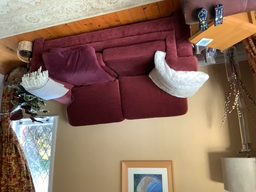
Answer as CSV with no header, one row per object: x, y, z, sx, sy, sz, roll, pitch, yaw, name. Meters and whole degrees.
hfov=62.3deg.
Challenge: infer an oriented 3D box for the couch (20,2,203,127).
-0.140,-0.220,2.590,1.870,0.960,0.960,-6,163,16,couch
